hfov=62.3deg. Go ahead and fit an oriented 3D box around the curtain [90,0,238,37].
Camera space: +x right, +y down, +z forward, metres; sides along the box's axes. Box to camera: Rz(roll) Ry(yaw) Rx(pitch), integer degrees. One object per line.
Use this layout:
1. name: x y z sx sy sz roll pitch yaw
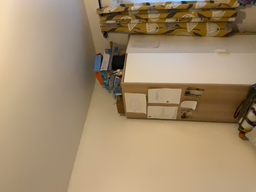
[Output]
1. curtain: 0.340 -0.800 2.220 0.310 1.430 0.110 83 -170 -50
